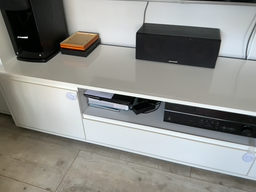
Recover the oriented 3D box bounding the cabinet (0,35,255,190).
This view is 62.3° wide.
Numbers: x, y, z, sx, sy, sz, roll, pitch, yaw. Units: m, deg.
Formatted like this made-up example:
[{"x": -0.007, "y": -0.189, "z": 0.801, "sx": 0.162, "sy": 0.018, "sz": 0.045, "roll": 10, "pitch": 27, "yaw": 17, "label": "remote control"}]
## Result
[{"x": 0.230, "y": 0.050, "z": 1.290, "sx": 1.910, "sy": 0.500, "sz": 0.570, "roll": 9, "pitch": 37, "yaw": 12, "label": "cabinet"}]
